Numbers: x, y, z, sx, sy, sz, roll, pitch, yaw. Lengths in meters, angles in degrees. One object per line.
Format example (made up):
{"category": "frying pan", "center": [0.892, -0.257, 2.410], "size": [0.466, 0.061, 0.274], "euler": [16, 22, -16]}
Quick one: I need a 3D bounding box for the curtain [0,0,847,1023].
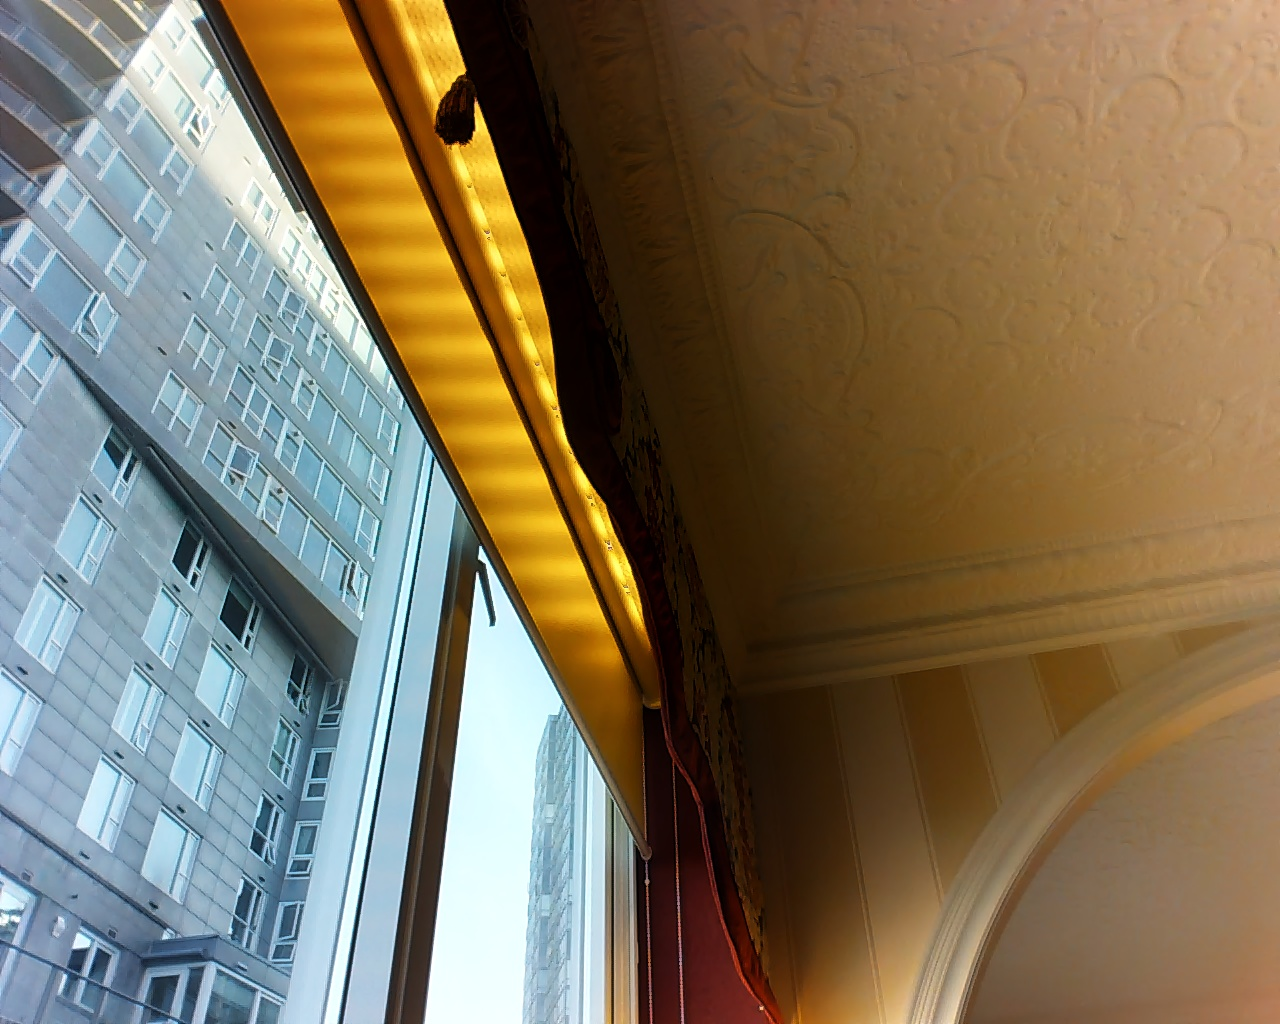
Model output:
{"category": "curtain", "center": [-0.140, -0.200, 1.100], "size": [0.330, 0.870, 2.540], "euler": [-10, -43, 10]}
